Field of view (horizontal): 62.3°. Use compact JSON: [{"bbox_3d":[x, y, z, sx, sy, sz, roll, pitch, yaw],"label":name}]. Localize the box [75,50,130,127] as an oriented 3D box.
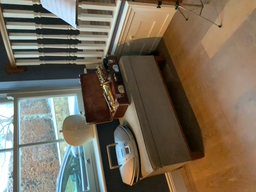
[{"bbox_3d":[-0.290,-0.070,2.120,0.480,0.370,0.590,121,140,-57],"label":"box"}]
